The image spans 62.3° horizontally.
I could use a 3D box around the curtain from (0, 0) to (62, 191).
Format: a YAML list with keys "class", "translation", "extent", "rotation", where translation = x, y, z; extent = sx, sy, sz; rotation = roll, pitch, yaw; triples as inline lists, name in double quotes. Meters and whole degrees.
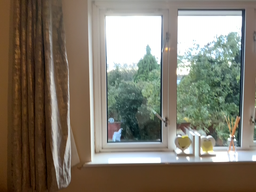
- class: "curtain"
  translation: [-0.600, -0.150, 1.260]
  extent: [0.300, 1.500, 0.240]
  rotation: [-1, 5, -4]
